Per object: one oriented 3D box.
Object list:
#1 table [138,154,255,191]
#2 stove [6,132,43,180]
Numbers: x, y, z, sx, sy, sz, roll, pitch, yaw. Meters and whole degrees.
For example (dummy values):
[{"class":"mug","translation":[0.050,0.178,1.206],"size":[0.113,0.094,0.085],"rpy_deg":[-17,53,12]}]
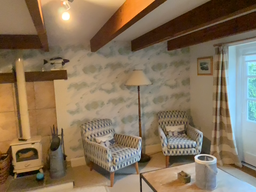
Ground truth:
[{"class":"table","translation":[0.780,1.120,2.460],"size":[1.000,0.390,1.000],"rpy_deg":[-5,7,-19]},{"class":"stove","translation":[-1.640,0.940,3.420],"size":[0.440,0.550,0.480],"rpy_deg":[-5,7,-19]}]
